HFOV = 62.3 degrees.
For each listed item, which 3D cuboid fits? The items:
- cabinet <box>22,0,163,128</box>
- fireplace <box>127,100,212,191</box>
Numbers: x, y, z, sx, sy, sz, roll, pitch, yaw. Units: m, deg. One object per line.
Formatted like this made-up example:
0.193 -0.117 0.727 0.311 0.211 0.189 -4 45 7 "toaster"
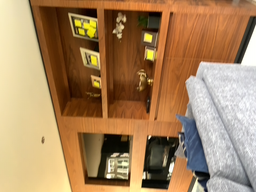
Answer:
-0.370 -0.400 2.760 0.610 1.360 1.580 -86 0 -53 "cabinet"
0.610 1.010 3.830 0.450 1.130 1.920 -86 0 -53 "fireplace"
